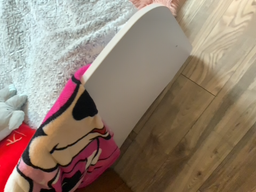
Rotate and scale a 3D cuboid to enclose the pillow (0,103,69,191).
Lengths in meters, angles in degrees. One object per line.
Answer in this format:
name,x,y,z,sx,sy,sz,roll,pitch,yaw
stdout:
pillow,-0.410,0.220,0.730,0.200,0.170,0.340,43,105,21
